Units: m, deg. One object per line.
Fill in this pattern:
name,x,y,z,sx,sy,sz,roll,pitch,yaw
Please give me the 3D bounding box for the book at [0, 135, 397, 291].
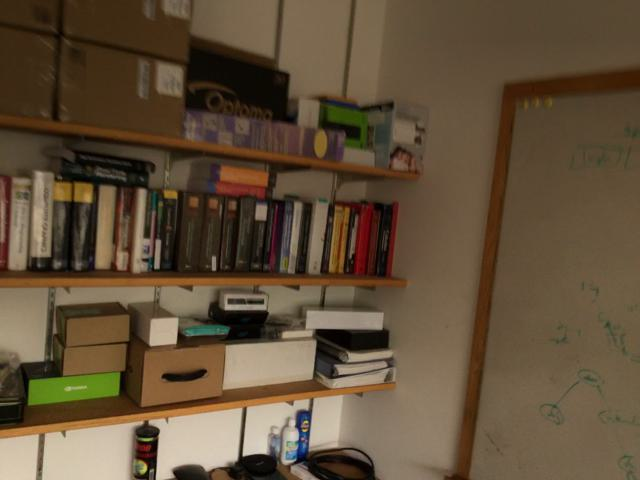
book,-0.380,-0.050,1.730,1.420,0.360,0.220,2,1,-35
